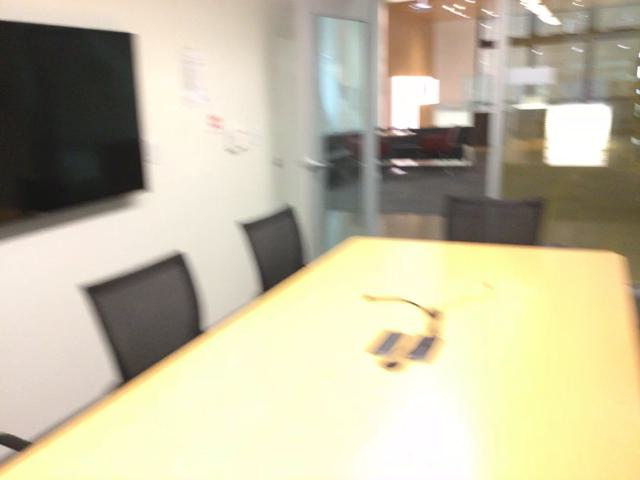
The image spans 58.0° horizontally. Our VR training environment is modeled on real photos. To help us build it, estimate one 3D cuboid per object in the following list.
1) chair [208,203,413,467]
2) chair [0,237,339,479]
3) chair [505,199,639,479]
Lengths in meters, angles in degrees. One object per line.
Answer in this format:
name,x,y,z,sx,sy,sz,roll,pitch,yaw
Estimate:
chair,0.000,0.340,2.470,0.620,0.890,0.600,3,15,25
chair,-0.400,0.500,1.770,0.690,0.870,0.610,3,15,25
chair,1.070,0.330,2.220,0.600,0.870,0.590,3,15,25
